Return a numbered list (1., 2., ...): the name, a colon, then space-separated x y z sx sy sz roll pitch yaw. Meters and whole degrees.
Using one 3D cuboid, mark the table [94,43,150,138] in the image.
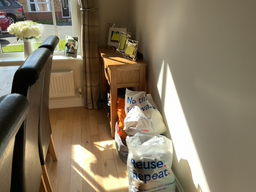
1. table: -0.110 -0.120 2.330 0.400 0.760 0.830 -5 25 -13
